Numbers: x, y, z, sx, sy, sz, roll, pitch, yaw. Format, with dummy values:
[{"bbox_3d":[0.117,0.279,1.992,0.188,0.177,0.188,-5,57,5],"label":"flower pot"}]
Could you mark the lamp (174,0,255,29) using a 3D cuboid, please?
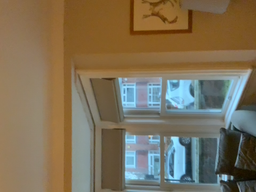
[{"bbox_3d":[1.190,-0.980,1.940,0.450,1.470,0.560,-12,-78,-84],"label":"lamp"}]
